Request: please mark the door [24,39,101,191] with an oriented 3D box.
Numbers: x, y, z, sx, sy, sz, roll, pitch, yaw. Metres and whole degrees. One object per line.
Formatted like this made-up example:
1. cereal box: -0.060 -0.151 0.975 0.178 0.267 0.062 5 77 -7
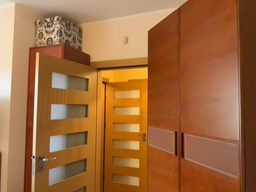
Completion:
1. door: -0.620 0.660 2.190 0.130 2.250 0.890 -1 -4 29
